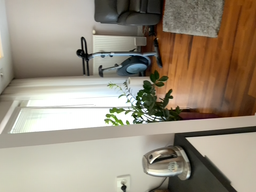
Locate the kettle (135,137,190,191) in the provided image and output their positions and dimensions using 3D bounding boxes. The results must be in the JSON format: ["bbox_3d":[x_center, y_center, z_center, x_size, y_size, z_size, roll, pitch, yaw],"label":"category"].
[{"bbox_3d":[0.190,0.390,1.230,0.170,0.240,0.230,-126,37,-64],"label":"kettle"}]

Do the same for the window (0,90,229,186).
[{"bbox_3d":[-0.520,0.300,2.840,2.190,2.610,0.110,-132,42,-67],"label":"window"}]
